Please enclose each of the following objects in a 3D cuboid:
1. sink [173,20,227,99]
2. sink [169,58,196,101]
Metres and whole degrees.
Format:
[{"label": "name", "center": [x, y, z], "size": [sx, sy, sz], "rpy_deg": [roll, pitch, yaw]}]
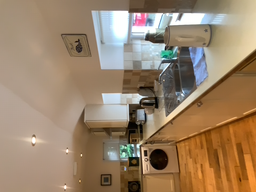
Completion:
[{"label": "sink", "center": [0.530, -0.260, 1.660], "size": [0.410, 0.210, 0.470], "rpy_deg": [102, 167, -72]}, {"label": "sink", "center": [0.490, -0.150, 1.940], "size": [0.180, 0.160, 0.350], "rpy_deg": [102, 167, -72]}]
